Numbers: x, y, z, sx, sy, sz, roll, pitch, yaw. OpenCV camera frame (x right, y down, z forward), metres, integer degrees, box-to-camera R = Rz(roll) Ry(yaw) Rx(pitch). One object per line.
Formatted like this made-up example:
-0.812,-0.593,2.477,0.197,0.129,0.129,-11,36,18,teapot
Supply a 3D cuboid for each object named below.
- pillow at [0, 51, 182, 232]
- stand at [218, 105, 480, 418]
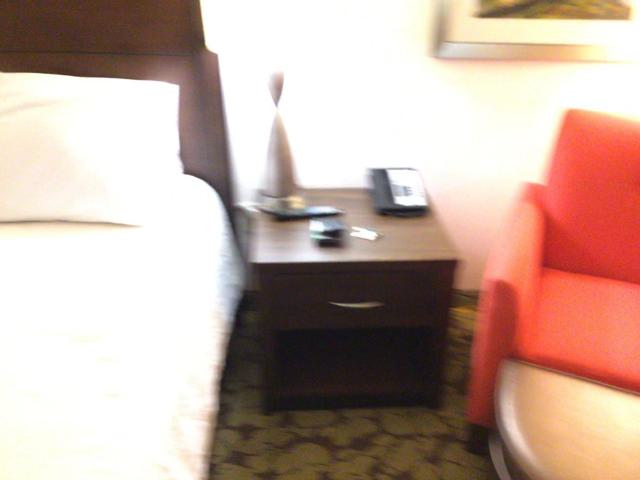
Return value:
-0.890,-0.290,1.660,0.860,0.370,0.430,-3,30,-2,pillow
0.070,0.060,1.930,0.670,0.840,0.570,-3,30,-2,stand
